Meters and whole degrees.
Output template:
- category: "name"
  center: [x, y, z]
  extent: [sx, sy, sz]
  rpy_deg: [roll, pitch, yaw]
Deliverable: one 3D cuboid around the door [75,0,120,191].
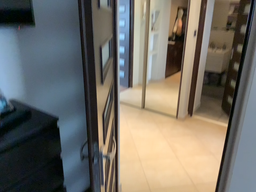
- category: "door"
  center: [-0.110, 0.140, 1.210]
  extent: [0.110, 1.790, 0.880]
  rpy_deg: [1, 21, -1]
